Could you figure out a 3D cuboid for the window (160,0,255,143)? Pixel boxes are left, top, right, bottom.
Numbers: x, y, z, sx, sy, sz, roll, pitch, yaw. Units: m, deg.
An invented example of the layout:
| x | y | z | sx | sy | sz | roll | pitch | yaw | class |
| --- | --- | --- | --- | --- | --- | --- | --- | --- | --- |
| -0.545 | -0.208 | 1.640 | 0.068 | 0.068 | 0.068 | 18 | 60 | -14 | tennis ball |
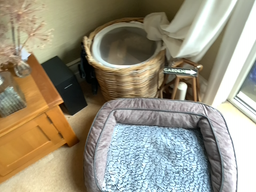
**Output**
| x | y | z | sx | sy | sz | roll | pitch | yaw | class |
| --- | --- | --- | --- | --- | --- | --- | --- | --- | --- |
| 0.390 | -0.720 | 0.380 | 0.220 | 2.630 | 0.530 | -27 | 57 | -15 | window |
